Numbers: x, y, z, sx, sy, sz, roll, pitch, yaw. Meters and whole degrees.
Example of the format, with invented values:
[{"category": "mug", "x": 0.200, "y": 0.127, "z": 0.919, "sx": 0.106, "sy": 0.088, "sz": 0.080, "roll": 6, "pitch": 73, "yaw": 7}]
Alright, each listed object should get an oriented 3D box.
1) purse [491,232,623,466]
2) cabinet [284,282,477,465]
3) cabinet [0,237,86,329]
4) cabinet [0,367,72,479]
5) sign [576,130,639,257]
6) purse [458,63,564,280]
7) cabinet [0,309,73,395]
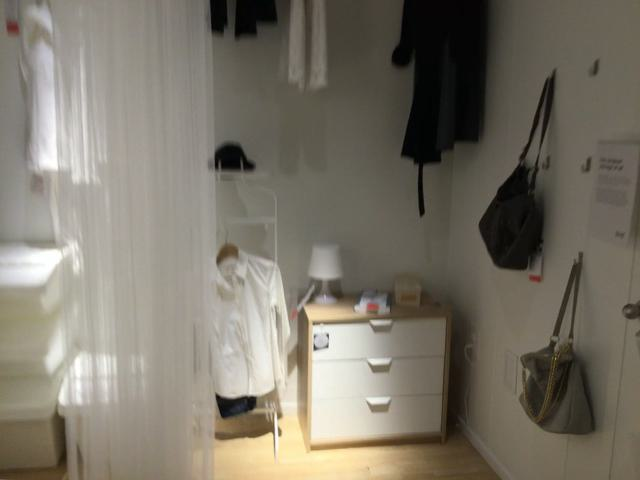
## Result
[{"category": "purse", "x": 0.800, "y": 0.350, "z": 2.010, "sx": 0.170, "sy": 0.710, "sz": 0.380, "roll": 1, "pitch": 8, "yaw": -12}, {"category": "cabinet", "x": 0.270, "y": 0.630, "z": 2.900, "sx": 0.800, "sy": 0.740, "sz": 0.500, "roll": 1, "pitch": 8, "yaw": -12}, {"category": "cabinet", "x": -1.340, "y": 0.170, "z": 2.520, "sx": 0.500, "sy": 0.280, "sz": 0.550, "roll": 1, "pitch": 8, "yaw": -12}, {"category": "cabinet", "x": -1.310, "y": 0.790, "z": 2.450, "sx": 0.440, "sy": 0.440, "sz": 0.200, "roll": 1, "pitch": 8, "yaw": -12}, {"category": "sign", "x": 0.880, "y": -0.140, "z": 1.680, "sx": 0.090, "sy": 0.340, "sz": 0.240, "roll": 1, "pitch": 8, "yaw": -12}, {"category": "purse", "x": 0.730, "y": -0.260, "z": 2.260, "sx": 0.190, "sy": 0.780, "sz": 0.310, "roll": 1, "pitch": 8, "yaw": -12}, {"category": "cabinet", "x": -1.310, "y": 0.460, "z": 2.400, "sx": 0.490, "sy": 0.300, "sz": 0.210, "roll": 1, "pitch": 8, "yaw": -12}]
